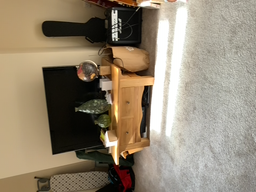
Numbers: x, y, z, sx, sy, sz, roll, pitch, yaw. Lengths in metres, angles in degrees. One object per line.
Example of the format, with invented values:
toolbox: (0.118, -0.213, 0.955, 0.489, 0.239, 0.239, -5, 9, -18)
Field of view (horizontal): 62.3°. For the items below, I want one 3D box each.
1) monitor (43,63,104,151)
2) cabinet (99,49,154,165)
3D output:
monitor: (-0.600, 0.130, 2.480, 0.070, 0.630, 0.980, -143, 50, -61)
cabinet: (-0.050, 0.100, 2.540, 0.570, 0.420, 1.230, -141, 49, -60)
